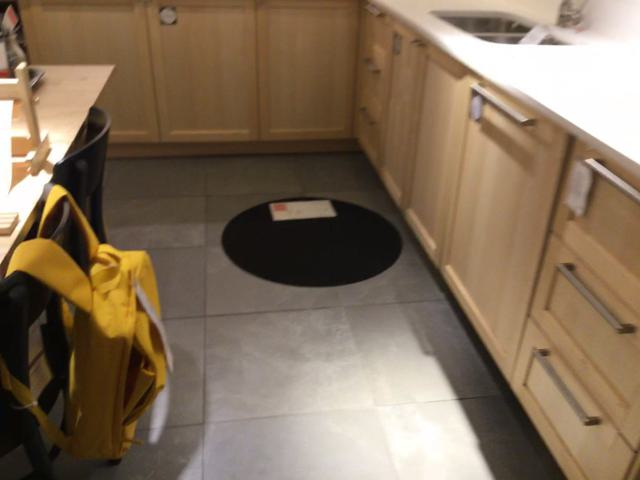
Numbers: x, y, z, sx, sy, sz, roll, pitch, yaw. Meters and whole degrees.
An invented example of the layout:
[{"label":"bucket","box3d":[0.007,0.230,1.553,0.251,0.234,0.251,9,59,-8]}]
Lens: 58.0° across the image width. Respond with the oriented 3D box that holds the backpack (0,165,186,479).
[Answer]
[{"label":"backpack","box3d":[-0.430,0.190,1.170,0.270,0.580,0.370,-2,30,-11]}]
